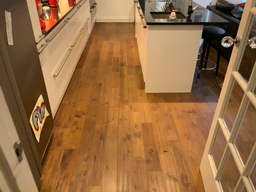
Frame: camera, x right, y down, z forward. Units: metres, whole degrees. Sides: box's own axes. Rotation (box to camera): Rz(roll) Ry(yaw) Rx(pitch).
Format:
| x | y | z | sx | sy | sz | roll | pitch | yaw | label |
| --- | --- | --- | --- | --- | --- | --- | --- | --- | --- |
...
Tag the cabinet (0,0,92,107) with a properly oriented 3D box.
| x | y | z | sx | sy | sz | roll | pitch | yaw | label |
| --- | --- | --- | --- | --- | --- | --- | --- | --- | --- |
| -1.110 | -0.960 | 3.350 | 0.590 | 0.840 | 2.690 | 1 | 33 | 0 | cabinet |
